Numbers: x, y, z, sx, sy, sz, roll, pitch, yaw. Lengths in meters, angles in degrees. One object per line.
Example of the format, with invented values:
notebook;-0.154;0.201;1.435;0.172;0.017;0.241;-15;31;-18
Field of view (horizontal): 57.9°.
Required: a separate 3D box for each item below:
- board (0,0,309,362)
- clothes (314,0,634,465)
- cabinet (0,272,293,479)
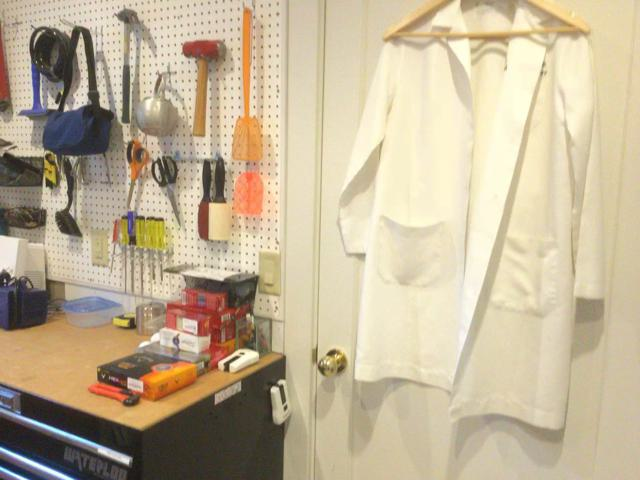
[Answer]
board;-0.720;-0.420;1.760;1.510;1.330;0.090;6;9;28
clothes;0.300;-0.100;1.260;0.610;1.020;0.140;6;9;28
cabinet;-0.640;0.600;1.610;0.970;0.840;0.550;6;9;28
